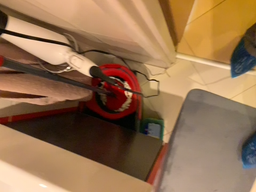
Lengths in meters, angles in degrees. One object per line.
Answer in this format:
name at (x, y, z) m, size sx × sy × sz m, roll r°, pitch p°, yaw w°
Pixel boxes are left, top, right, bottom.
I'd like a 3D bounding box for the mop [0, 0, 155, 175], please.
mop at (-0.160, -0.060, 0.700) m, size 0.290 × 1.120 × 0.230 m, roll 15°, pitch 96°, yaw 15°
